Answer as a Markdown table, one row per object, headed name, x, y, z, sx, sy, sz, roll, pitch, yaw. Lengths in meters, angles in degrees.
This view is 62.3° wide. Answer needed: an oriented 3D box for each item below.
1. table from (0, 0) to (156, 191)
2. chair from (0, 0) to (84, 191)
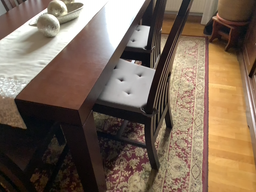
| name | x | y | z | sx | sy | sz | roll | pitch | yaw |
| --- | --- | --- | --- | --- | --- | --- | --- | --- | --- |
| table | -0.360 | -0.230 | 1.570 | 0.860 | 0.750 | 1.560 | 9 | 43 | 12 |
| chair | -0.590 | 0.160 | 0.930 | 0.450 | 1.020 | 0.520 | 8 | 43 | 11 |
